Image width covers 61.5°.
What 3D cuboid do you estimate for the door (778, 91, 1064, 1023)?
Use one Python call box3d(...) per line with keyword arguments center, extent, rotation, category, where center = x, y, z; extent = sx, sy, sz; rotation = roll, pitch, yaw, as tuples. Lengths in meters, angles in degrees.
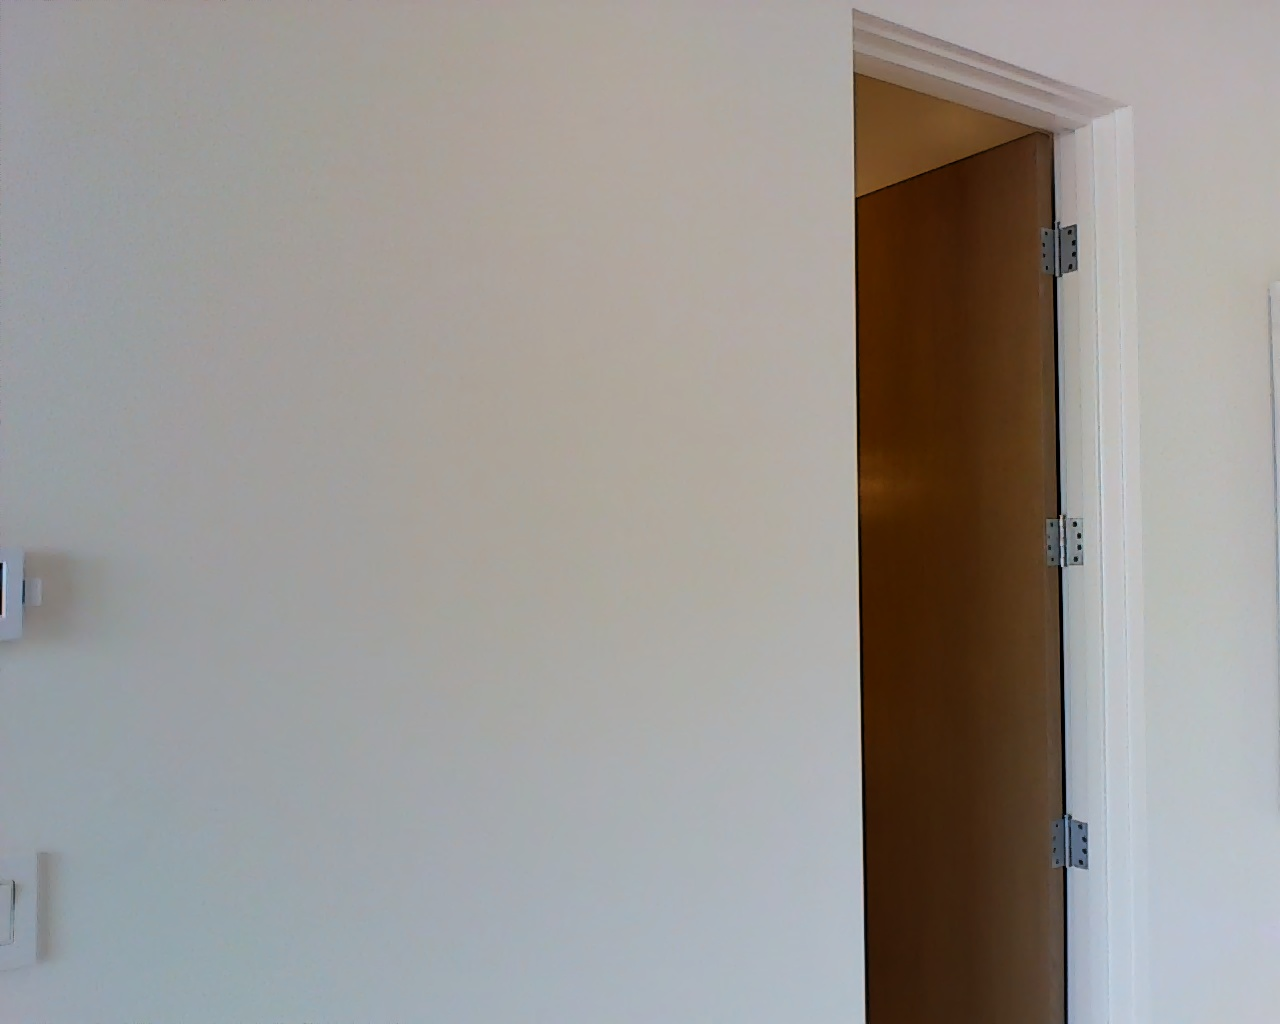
box3d(center=(0.650, 0.370, 2.660), extent=(0.080, 2.531, 0.840), rotation=(1, -2, -32), category="door")
